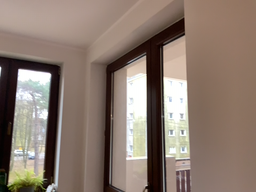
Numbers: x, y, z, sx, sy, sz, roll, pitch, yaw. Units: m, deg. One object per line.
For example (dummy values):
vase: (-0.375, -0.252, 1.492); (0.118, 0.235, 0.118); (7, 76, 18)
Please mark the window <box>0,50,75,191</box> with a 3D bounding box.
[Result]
window: (-1.410, 0.310, 2.130); (1.610, 1.560, 0.240); (6, -11, -29)
